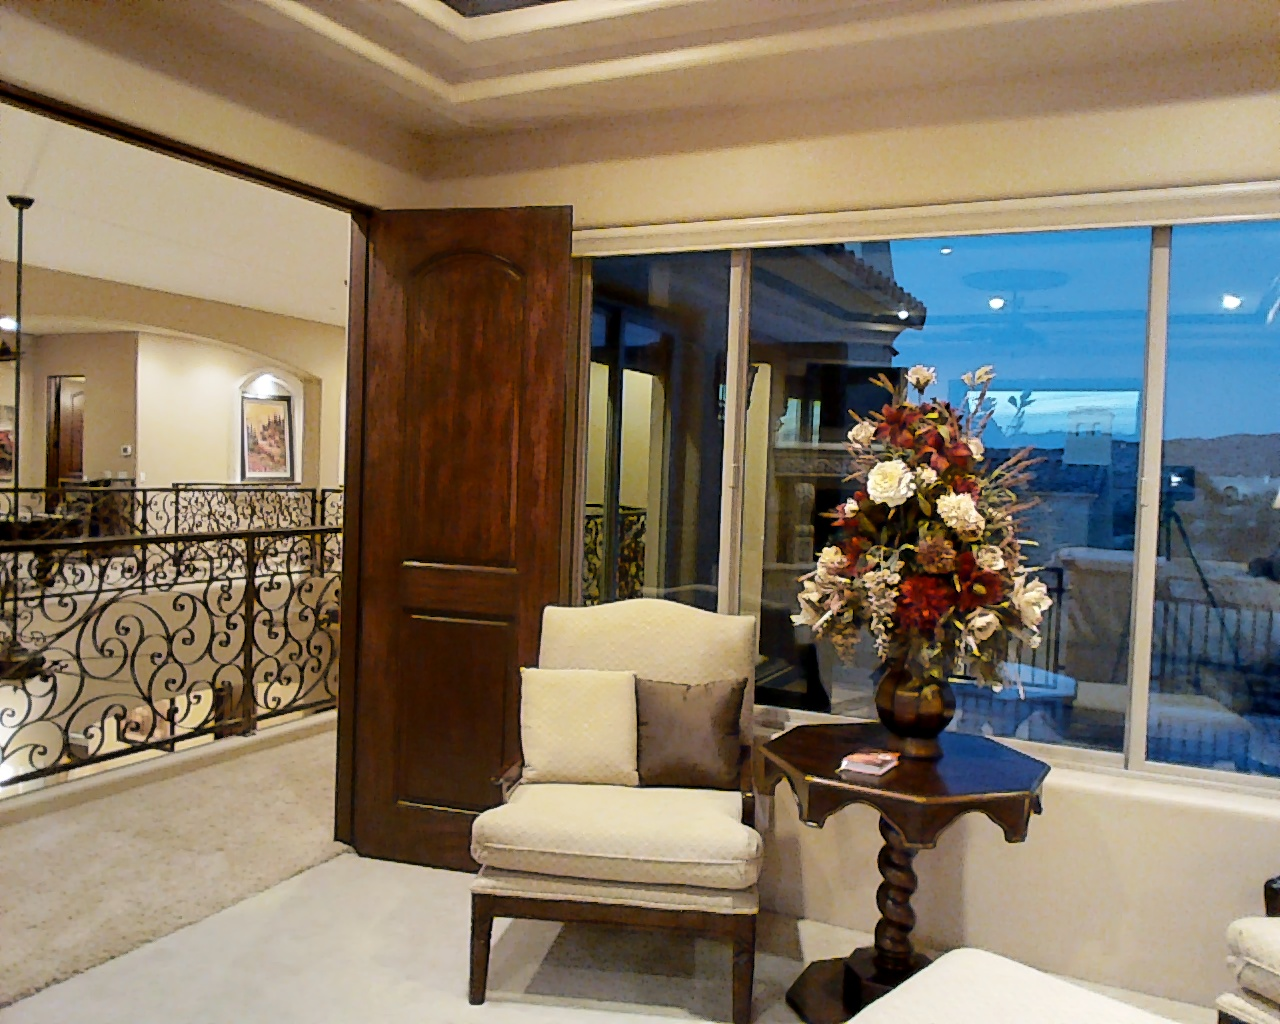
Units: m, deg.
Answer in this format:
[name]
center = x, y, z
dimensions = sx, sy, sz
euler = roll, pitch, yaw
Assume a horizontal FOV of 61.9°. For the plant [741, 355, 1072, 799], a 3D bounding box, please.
[plant]
center = 0.770, 0.140, 3.040
dimensions = 0.750, 1.090, 0.590
euler = 3, 2, 27
